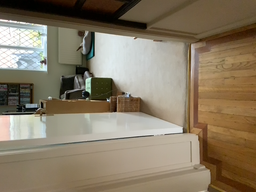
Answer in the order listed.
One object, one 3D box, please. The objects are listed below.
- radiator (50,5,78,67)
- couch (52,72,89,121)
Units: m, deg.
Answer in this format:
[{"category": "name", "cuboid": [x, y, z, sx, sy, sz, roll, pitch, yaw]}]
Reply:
[{"category": "radiator", "cuboid": [-1.480, -1.360, 4.920, 0.110, 0.610, 1.350, 3, 93, 63]}, {"category": "couch", "cuboid": [-1.300, 0.000, 4.680, 0.710, 0.600, 0.770, 58, 139, 46]}]
